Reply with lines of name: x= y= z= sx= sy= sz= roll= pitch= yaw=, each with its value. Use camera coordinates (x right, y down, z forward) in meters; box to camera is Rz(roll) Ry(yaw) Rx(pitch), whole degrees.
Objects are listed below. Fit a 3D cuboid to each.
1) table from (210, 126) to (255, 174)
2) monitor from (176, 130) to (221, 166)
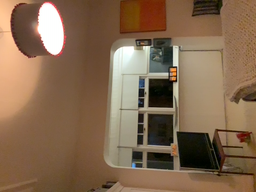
table: x=1.570 y=0.800 z=3.200 sx=0.530 sy=0.490 sz=0.410 roll=-78 pitch=-14 yaw=-54
monitor: x=1.060 y=0.780 z=3.290 sx=0.710 sy=0.560 sz=0.040 roll=-76 pitch=-16 yaw=-59
